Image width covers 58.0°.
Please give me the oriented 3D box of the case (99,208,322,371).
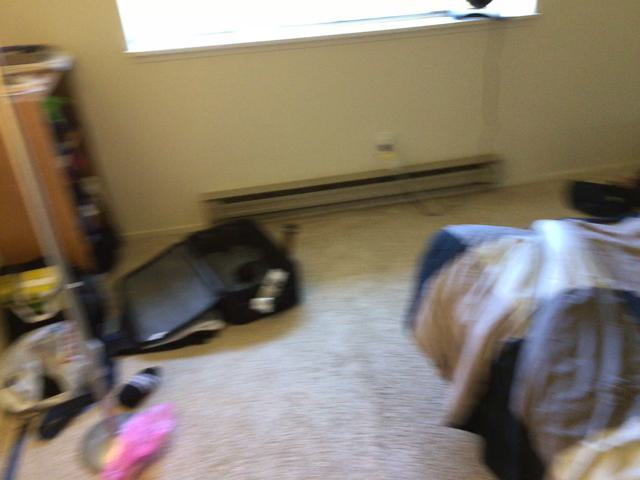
[{"bbox_3d":[-0.470,0.160,2.390,0.770,0.170,0.610,-16,32,-17],"label":"case"}]
